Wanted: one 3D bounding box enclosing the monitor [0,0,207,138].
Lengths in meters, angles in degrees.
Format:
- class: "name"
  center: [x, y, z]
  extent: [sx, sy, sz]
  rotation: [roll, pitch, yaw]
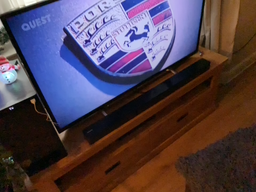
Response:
- class: "monitor"
  center: [0.040, -0.280, 1.110]
  extent: [1.080, 0.620, 0.050]
  rotation: [-31, 47, -24]
